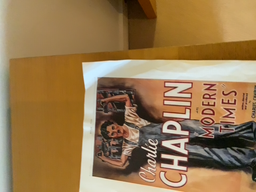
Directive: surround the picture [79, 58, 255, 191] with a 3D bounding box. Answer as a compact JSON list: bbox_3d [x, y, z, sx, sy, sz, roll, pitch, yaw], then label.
[{"bbox_3d":[0.080,0.060,0.280,0.300,0.020,0.210,4,93,15],"label":"picture"}]
